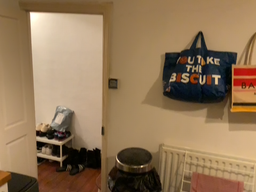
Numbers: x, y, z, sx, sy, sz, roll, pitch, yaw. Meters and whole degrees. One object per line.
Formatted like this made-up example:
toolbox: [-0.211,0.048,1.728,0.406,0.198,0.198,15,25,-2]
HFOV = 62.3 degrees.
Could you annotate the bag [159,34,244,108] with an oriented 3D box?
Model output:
bag: [0.530,-0.200,1.610,0.520,0.490,0.210,6,12,16]
